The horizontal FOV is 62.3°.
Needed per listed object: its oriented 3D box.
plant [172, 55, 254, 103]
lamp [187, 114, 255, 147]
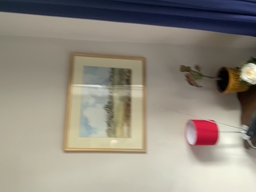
[{"bbox_3d":[0.580,-0.110,1.490,0.200,0.480,0.270,117,154,-77],"label":"plant"},{"bbox_3d":[0.620,0.240,1.430,0.180,0.380,0.200,113,158,-75],"label":"lamp"}]
